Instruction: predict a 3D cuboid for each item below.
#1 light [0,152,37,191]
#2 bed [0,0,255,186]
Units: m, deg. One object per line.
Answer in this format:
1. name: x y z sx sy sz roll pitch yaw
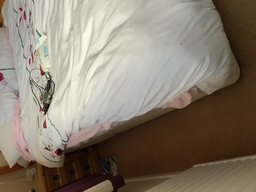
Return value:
1. light: -1.160 0.760 1.790 0.450 0.590 0.330 -36 68 48
2. bed: -0.580 -0.360 1.560 2.210 0.950 1.610 -35 70 48
